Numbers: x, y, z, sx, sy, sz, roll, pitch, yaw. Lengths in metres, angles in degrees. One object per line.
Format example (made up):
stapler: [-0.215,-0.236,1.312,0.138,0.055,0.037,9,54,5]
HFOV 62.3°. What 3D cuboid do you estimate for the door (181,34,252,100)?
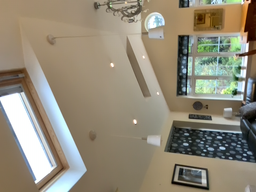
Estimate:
door: [2.120,-0.690,5.250,0.050,1.540,1.560,-36,-53,-68]
